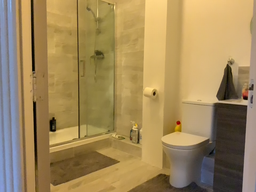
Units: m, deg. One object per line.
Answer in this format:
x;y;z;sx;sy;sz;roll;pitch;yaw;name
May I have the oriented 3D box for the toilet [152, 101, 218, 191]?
0.560;0.460;2.060;0.380;0.760;0.550;6;7;44;toilet
